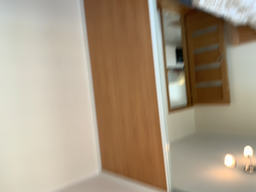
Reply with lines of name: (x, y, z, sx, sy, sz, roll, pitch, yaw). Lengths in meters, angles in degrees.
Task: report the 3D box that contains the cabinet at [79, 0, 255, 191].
cabinet: (0.460, -0.320, 2.320, 0.610, 2.660, 2.350, -8, -177, -43)
